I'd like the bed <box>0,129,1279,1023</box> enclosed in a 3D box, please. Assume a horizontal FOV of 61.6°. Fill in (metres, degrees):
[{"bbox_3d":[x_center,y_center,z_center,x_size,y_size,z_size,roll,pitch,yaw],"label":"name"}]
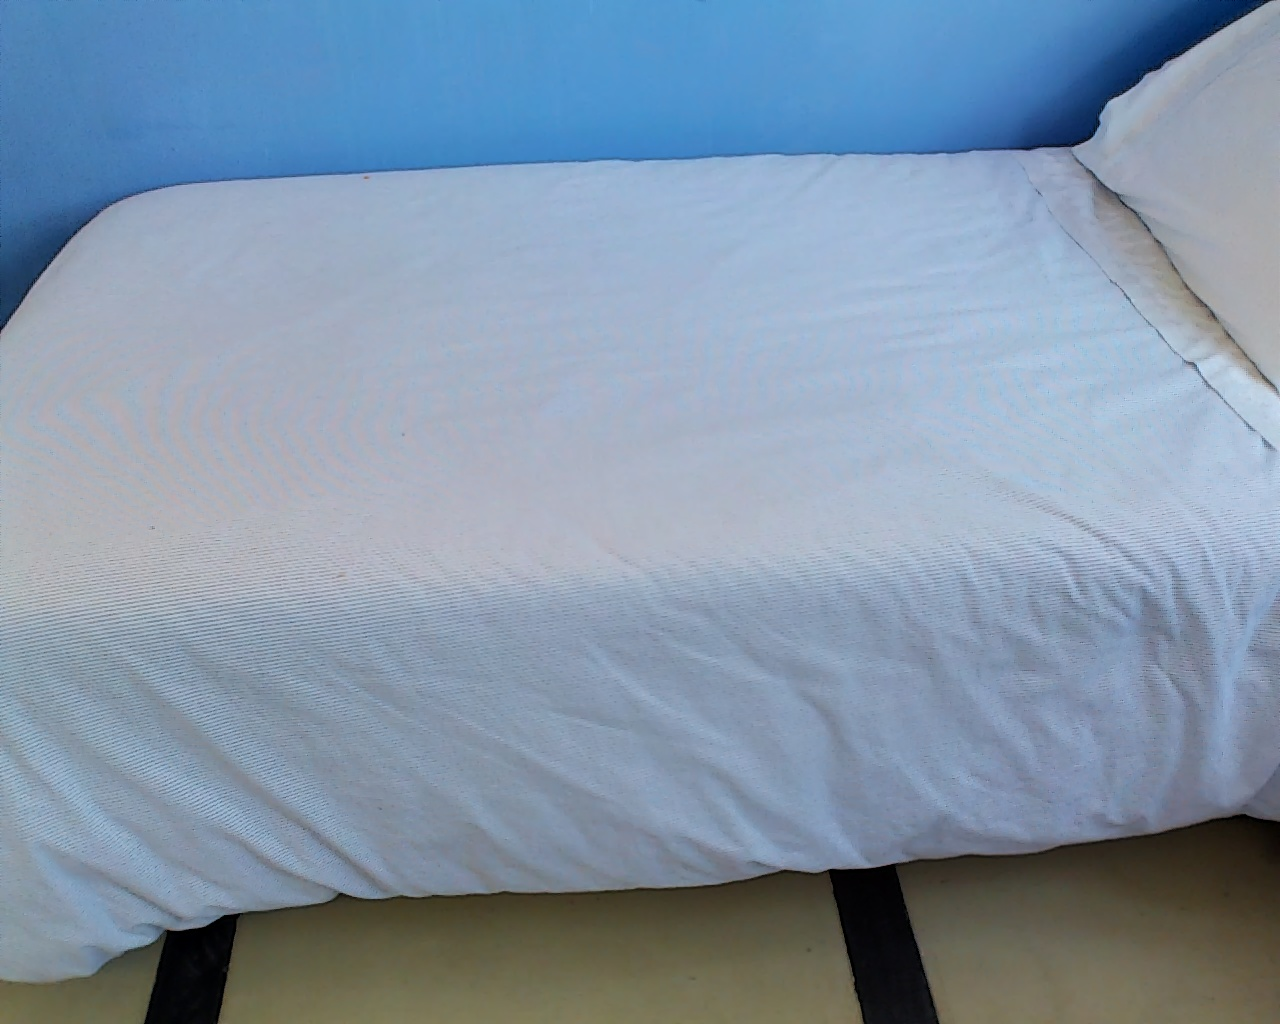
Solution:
[{"bbox_3d":[0.090,0.030,1.450,2.130,0.570,1.190,-3,41,-3],"label":"bed"}]
